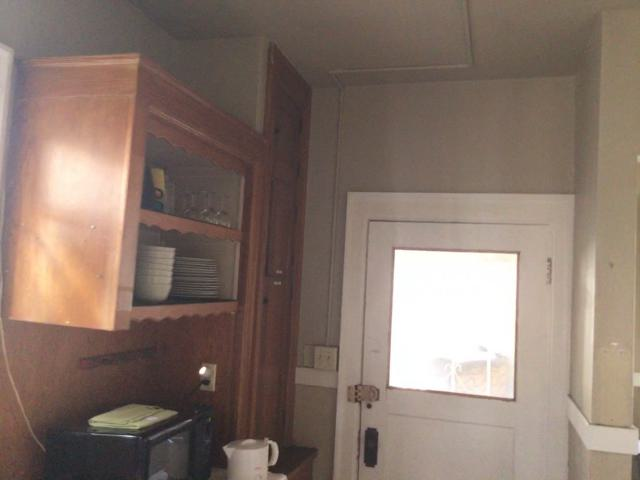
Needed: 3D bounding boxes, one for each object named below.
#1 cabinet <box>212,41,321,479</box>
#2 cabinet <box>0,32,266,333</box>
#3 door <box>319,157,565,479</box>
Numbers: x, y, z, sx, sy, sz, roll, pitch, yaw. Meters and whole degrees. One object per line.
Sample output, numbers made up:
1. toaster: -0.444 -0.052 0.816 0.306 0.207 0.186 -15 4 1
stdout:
1. cabinet: -0.220 0.120 2.730 0.300 1.900 0.610 -1 -5 15
2. cabinet: -0.600 -0.120 2.080 0.510 0.830 0.920 -1 -5 15
3. door: 0.550 0.770 2.730 1.070 2.240 0.280 -1 -5 15
